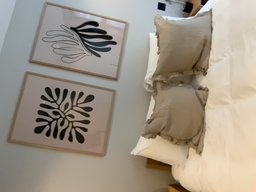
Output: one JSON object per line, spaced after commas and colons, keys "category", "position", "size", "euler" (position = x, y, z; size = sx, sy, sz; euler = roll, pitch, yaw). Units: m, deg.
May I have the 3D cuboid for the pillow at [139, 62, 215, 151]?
{"category": "pillow", "position": [0.350, 0.080, 1.610], "size": [0.210, 0.410, 0.550], "euler": [59, -163, -84]}

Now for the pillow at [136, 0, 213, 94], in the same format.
{"category": "pillow", "position": [0.390, -0.420, 1.870], "size": [0.200, 0.460, 0.690], "euler": [54, -159, -84]}

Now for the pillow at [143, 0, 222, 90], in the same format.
{"category": "pillow", "position": [0.400, -0.390, 1.670], "size": [0.270, 0.460, 0.600], "euler": [87, 175, -84]}

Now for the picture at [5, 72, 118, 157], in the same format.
{"category": "picture", "position": [-0.570, 0.170, 1.940], "size": [0.040, 0.870, 0.630], "euler": [138, 142, -76]}
